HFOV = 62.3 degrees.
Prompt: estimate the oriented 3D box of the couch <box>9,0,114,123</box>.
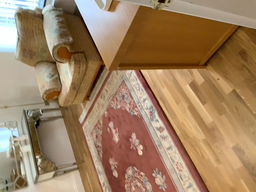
[{"bbox_3d":[-0.990,-0.470,2.880,0.990,0.930,1.200,-54,52,44],"label":"couch"}]
